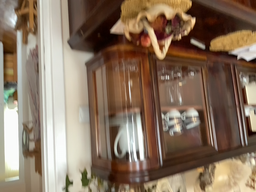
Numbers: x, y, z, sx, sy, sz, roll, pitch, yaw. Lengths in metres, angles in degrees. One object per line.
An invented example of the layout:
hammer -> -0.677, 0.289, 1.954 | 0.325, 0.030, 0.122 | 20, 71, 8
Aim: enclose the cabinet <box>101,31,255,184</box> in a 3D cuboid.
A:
cabinet -> 0.470, 0.060, 1.340 | 1.220, 0.620, 0.340 | 0, 172, -34
